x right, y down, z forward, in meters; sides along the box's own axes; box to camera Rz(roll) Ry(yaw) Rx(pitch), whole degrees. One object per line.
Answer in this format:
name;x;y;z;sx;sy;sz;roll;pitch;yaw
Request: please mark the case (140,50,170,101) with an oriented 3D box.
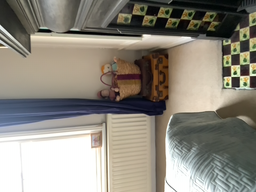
case;0.300;-0.220;2.420;0.380;0.190;0.530;-174;83;-72
